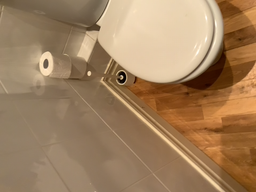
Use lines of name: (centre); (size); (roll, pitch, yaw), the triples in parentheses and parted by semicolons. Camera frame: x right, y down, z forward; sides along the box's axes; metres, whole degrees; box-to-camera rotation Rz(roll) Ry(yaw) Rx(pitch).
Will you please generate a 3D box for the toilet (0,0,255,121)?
toilet: (0.020, -0.320, 0.840); (0.680, 0.880, 0.390); (40, 115, 29)
